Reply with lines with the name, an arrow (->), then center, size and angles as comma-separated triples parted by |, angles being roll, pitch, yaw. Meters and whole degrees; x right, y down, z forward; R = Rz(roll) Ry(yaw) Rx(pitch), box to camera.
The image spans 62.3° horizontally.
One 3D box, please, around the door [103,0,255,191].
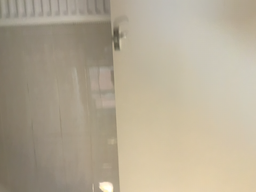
door -> 0.210, -0.250, 0.850 | 0.810, 2.080, 0.100 | 6, -168, 43
